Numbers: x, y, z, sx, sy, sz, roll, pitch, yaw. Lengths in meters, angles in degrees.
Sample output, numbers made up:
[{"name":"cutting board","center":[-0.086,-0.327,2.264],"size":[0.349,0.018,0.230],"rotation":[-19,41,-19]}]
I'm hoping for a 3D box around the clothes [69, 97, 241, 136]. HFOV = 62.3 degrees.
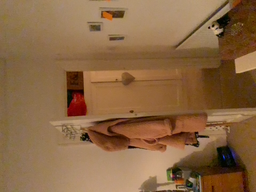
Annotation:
[{"name":"clothes","center":[0.200,0.180,1.770],"size":[0.410,1.290,0.180],"rotation":[111,155,-73]}]
